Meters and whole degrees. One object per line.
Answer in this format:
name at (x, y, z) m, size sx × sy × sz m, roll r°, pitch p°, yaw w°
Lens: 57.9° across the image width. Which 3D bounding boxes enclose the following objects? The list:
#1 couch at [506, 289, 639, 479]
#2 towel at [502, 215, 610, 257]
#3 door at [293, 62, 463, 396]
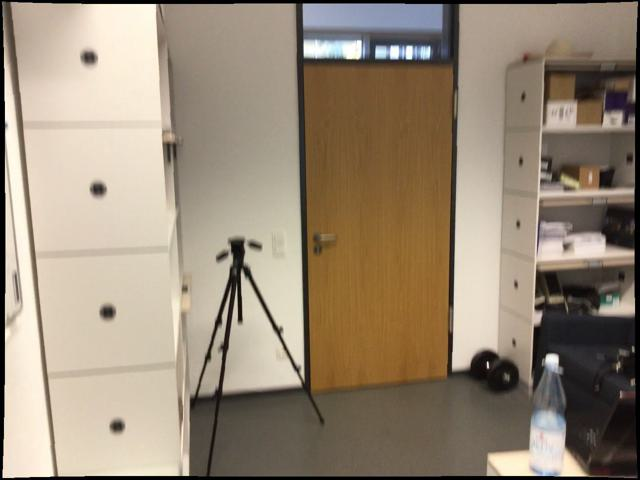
couch at (1.678, 0.791, 2.850) m, size 0.809 × 0.651 × 1.570 m, roll -3°, pitch 11°, yaw -9°
towel at (1.419, -0.030, 3.500) m, size 0.529 × 0.180 × 0.280 m, roll -3°, pitch 11°, yaw -9°
door at (0.360, -0.050, 3.600) m, size 0.989 × 2.022 × 0.160 m, roll -3°, pitch 11°, yaw -9°
